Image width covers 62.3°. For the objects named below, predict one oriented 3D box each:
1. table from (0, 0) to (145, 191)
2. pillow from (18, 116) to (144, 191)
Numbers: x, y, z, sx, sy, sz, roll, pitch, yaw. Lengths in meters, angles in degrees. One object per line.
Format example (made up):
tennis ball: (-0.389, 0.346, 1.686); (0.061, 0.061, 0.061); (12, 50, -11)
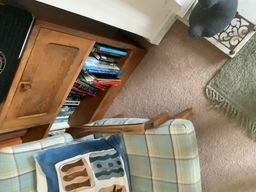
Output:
table: (-0.500, 0.140, 1.220); (0.270, 0.750, 1.250); (43, 113, 16)
pillow: (-0.180, 0.380, 0.960); (0.160, 0.400, 0.380); (19, 143, 51)
